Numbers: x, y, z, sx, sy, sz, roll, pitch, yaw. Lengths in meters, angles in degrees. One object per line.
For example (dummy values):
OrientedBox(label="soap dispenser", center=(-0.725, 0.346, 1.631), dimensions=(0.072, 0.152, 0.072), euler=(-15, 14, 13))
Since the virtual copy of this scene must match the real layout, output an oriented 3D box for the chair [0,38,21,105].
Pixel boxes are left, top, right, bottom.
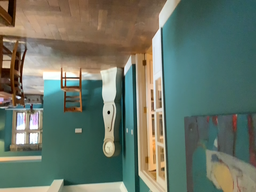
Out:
OrientedBox(label="chair", center=(-1.890, -0.340, 3.100), dimensions=(0.460, 0.900, 0.450), euler=(1, 173, -16))
